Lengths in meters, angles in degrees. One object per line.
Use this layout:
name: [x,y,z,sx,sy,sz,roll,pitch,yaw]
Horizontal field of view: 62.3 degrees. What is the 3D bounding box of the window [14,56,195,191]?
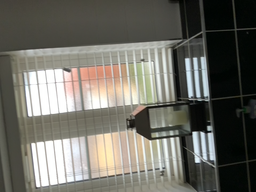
window: [-0.120,0.190,1.300,0.080,0.990,0.780,164,100,-81]
